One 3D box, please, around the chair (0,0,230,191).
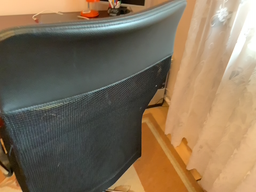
[{"bbox_3d":[-0.260,0.140,0.910,0.640,1.150,0.710,-23,46,-31],"label":"chair"}]
